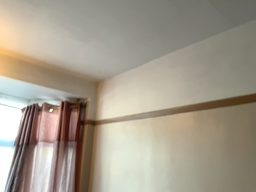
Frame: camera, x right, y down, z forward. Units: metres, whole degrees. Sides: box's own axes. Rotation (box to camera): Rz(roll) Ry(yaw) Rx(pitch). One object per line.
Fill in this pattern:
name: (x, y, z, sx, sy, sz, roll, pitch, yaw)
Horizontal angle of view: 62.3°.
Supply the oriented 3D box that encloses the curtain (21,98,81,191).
curtain: (-0.800, 0.890, 2.090, 0.430, 1.740, 0.190, -2, -17, 16)
